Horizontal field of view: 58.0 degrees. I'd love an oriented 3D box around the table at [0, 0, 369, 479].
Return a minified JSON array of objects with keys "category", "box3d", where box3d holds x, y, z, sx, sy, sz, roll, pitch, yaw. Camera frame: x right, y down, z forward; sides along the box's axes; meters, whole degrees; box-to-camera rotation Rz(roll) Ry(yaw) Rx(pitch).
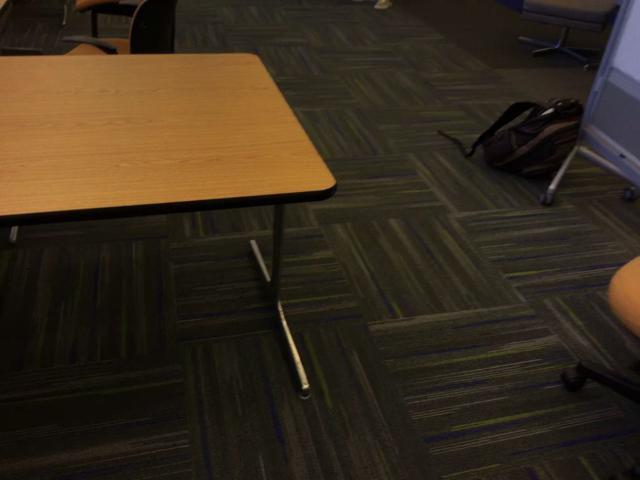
[{"category":"table","box3d":[-1.090,-0.220,1.760,1.880,0.840,1.910,-3,39,-15]}]
